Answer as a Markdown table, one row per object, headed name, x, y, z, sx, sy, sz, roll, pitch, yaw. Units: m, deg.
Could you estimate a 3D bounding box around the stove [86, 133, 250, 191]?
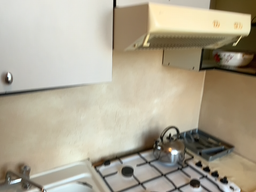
| name | x | y | z | sx | sy | sz | roll | pitch | yaw |
| --- | --- | --- | --- | --- | --- | --- | --- | --- | --- |
| stove | 0.190 | 0.410 | 1.150 | 0.660 | 0.050 | 0.570 | -8 | 20 | -31 |
